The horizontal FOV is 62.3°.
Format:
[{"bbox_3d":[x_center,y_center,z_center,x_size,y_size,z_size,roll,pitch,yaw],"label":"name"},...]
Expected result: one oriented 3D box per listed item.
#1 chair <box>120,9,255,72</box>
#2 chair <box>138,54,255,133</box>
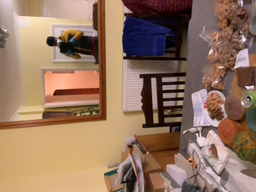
[{"bbox_3d":[0.480,-0.480,1.900,0.560,0.990,0.430,-139,48,-67],"label":"chair"},{"bbox_3d":[0.640,-0.020,1.450,0.560,0.990,0.390,166,100,-73],"label":"chair"}]
